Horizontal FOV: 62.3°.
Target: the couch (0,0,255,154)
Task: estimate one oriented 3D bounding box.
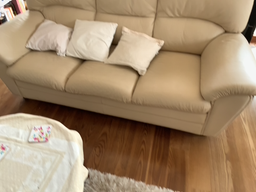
[{"bbox_3d":[-0.130,-0.420,1.690,2.040,1.000,0.890,11,45,11],"label":"couch"}]

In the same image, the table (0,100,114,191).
[{"bbox_3d":[-0.540,0.490,1.070,0.730,0.500,0.710,11,45,11],"label":"table"}]
